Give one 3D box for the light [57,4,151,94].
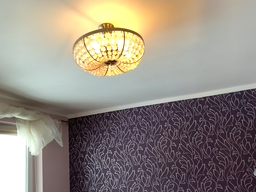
[{"bbox_3d":[-0.120,-0.300,1.360,0.290,0.460,0.410,-88,-14,-57],"label":"light"}]
